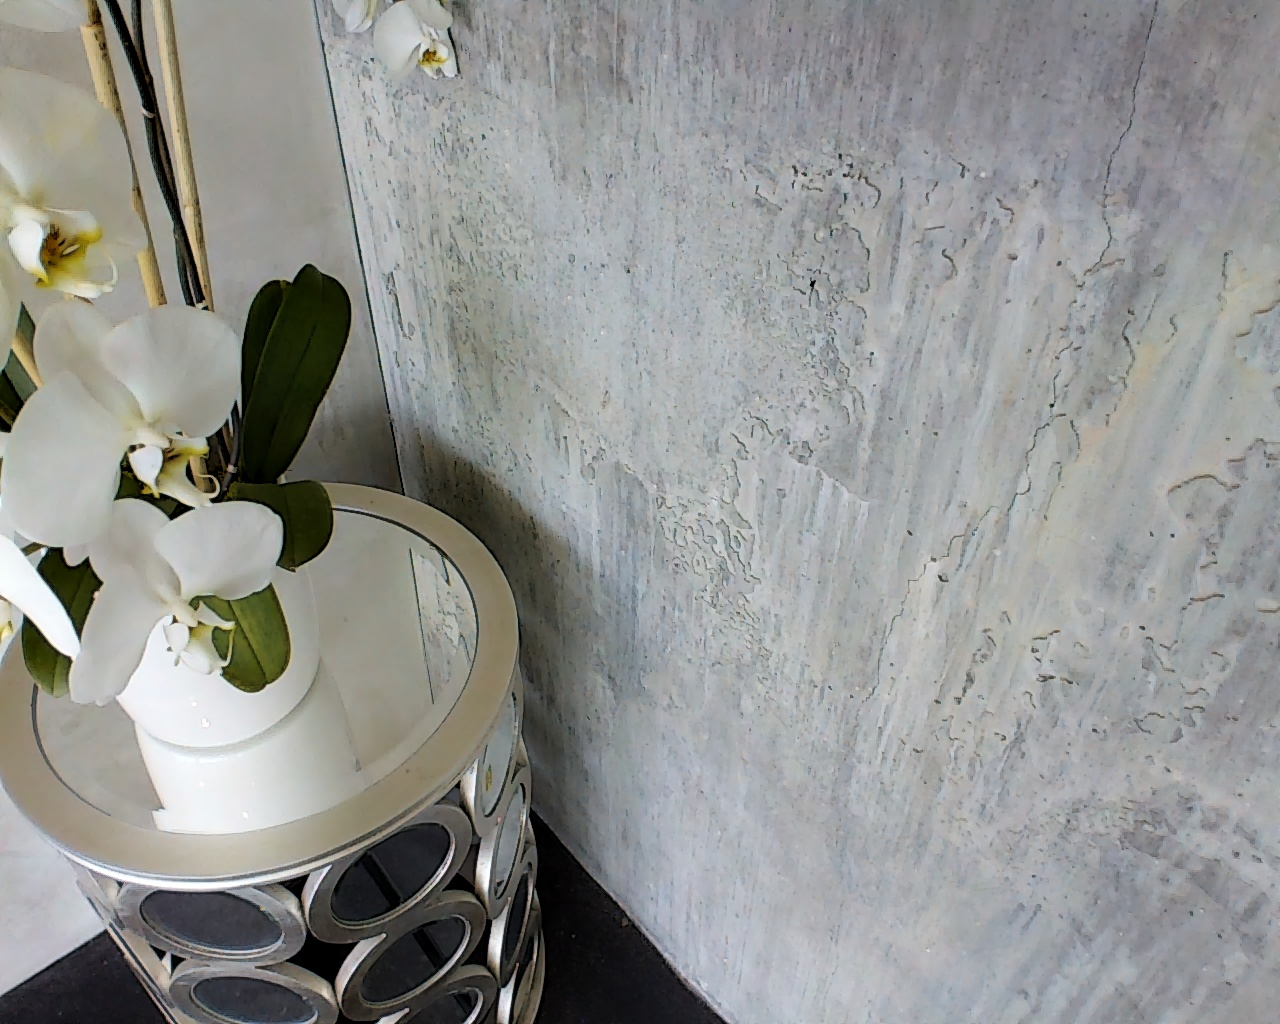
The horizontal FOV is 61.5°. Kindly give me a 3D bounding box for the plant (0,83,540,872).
[{"bbox_3d":[-0.360,-0.030,0.970,0.390,0.530,0.340,18,45,18],"label":"plant"}]
